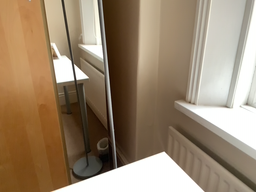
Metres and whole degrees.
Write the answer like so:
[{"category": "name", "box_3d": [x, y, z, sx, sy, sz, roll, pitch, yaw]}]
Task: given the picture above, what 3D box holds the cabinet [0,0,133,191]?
[{"category": "cabinet", "box_3d": [-0.590, -0.240, 1.300, 1.020, 1.910, 0.730, -12, 27, -24]}]
